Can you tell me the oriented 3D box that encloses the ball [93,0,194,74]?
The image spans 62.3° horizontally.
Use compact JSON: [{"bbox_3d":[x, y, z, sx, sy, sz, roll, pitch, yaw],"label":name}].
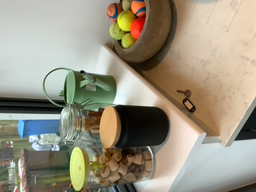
[{"bbox_3d":[0.030,-0.260,0.760,0.280,0.170,0.250,48,126,48],"label":"ball"}]
